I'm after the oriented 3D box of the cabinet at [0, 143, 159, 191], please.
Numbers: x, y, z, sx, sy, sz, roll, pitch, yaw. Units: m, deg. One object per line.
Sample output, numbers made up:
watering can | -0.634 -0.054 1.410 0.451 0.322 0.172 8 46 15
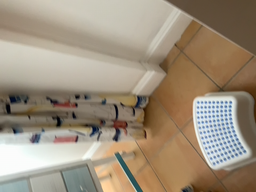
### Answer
cabinet | -0.310 0.560 1.010 0.360 0.960 0.420 -50 56 30
